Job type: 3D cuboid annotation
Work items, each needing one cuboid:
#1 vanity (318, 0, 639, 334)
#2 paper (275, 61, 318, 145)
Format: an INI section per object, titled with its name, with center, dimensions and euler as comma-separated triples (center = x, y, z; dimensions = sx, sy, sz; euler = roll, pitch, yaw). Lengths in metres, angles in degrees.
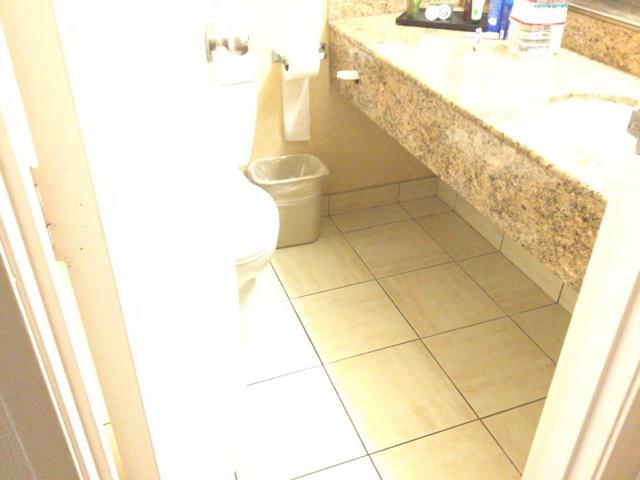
[vanity]
center = 0.530, -0.410, 1.630
dimensions = 0.590, 0.410, 1.440
euler = -9, 34, -19
[paper]
center = -0.090, -0.510, 2.160
dimensions = 0.140, 0.290, 0.070
euler = -10, 34, -20
